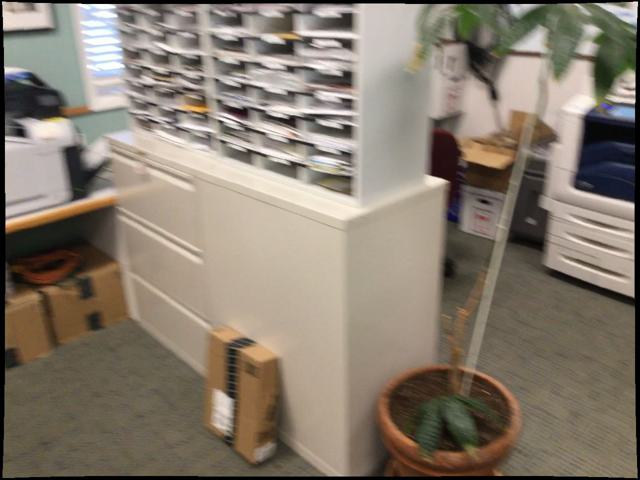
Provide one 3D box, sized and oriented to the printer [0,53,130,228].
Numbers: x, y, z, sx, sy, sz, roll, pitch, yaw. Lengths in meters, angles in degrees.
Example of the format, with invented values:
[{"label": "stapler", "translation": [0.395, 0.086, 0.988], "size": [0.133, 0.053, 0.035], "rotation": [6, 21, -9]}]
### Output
[{"label": "printer", "translation": [-1.309, -0.460, 2.550], "size": [0.660, 0.590, 0.480], "rotation": [-23, 32, -37]}]
